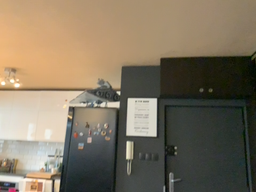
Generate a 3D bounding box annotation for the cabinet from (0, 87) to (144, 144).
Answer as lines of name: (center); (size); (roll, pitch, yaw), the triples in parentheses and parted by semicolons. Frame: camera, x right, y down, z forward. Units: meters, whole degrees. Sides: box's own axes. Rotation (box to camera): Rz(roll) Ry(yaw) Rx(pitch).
cabinet: (-1.530, 0.380, 4.390); (3.660, 1.060, 0.410); (0, -13, 9)
